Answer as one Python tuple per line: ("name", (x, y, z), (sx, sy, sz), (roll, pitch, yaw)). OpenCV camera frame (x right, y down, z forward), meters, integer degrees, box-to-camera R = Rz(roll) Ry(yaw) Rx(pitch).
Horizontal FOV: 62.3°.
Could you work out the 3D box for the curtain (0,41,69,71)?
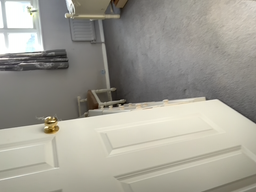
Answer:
("curtain", (-1.730, -0.580, 3.120), (0.190, 1.630, 0.380), (-176, 80, -74))
